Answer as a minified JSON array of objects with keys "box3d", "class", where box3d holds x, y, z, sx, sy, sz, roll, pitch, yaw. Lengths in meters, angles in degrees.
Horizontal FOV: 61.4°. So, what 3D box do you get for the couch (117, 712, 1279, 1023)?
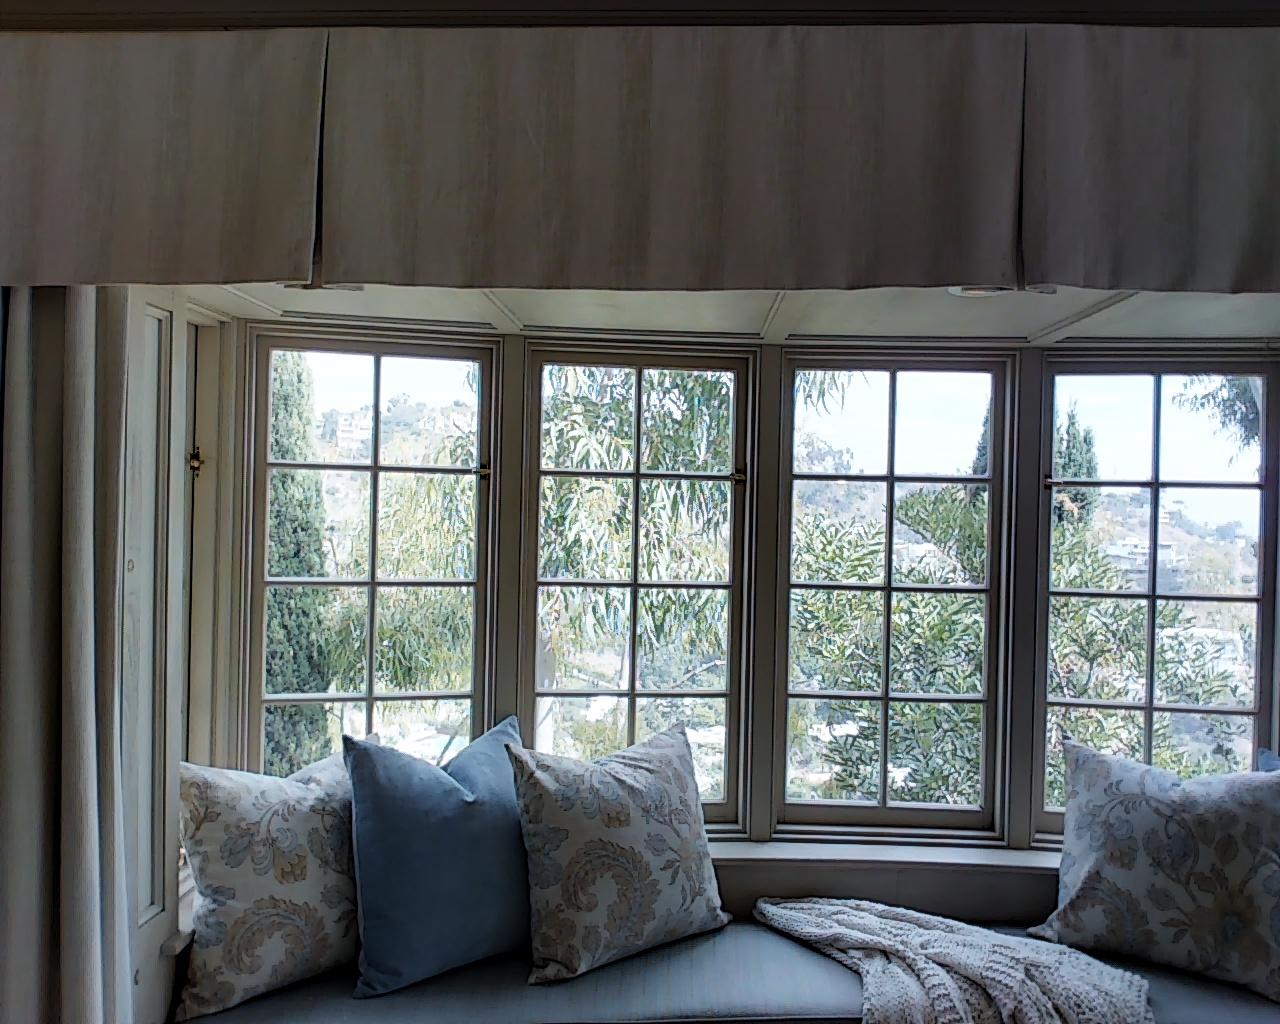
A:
[{"box3d":[0.620,1.020,2.270,3.060,0.980,0.820,1,1,1],"class":"couch"}]
